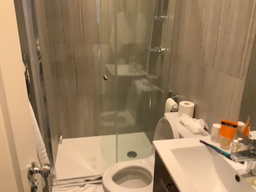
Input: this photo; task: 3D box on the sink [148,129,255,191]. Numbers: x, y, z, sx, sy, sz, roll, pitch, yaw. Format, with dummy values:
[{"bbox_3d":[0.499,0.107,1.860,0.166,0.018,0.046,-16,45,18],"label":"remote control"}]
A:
[{"bbox_3d":[0.380,0.390,0.910,0.390,0.150,0.670,-3,21,-12],"label":"sink"}]
